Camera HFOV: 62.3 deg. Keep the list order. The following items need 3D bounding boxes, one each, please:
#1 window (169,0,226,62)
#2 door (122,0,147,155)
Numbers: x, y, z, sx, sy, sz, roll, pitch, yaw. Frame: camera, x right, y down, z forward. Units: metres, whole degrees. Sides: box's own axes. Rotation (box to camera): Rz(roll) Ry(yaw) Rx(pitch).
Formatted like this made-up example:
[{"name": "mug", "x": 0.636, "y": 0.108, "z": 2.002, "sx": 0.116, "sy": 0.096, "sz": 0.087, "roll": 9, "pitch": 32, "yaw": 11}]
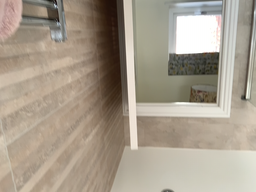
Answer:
[{"name": "window", "x": 0.870, "y": -0.850, "z": 2.750, "sx": 0.640, "sy": 0.760, "sz": 0.230, "roll": 0, "pitch": -163, "yaw": 8}, {"name": "door", "x": 0.000, "y": -0.780, "z": 1.150, "sx": 0.090, "sy": 1.980, "sz": 0.820, "roll": -2, "pitch": -163, "yaw": -1}]
